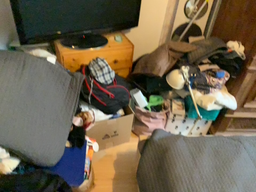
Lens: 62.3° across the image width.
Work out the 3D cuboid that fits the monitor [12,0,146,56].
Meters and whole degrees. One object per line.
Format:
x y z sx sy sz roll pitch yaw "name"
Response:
-0.290 -0.720 1.600 1.040 0.660 0.080 -20 47 -29 "monitor"
